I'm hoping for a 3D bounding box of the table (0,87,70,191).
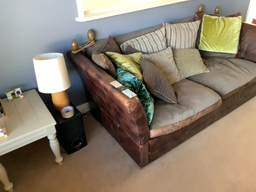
[{"bbox_3d":[-0.900,0.340,1.750,0.560,0.490,0.560,-24,41,-29],"label":"table"}]
